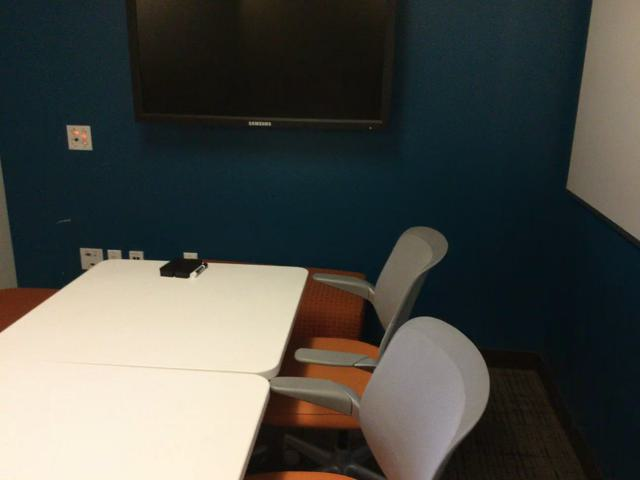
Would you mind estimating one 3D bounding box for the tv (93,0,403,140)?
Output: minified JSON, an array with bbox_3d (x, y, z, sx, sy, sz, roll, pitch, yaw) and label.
[{"bbox_3d":[-0.290,-0.780,2.410,1.230,0.640,0.230,3,17,6],"label":"tv"}]
